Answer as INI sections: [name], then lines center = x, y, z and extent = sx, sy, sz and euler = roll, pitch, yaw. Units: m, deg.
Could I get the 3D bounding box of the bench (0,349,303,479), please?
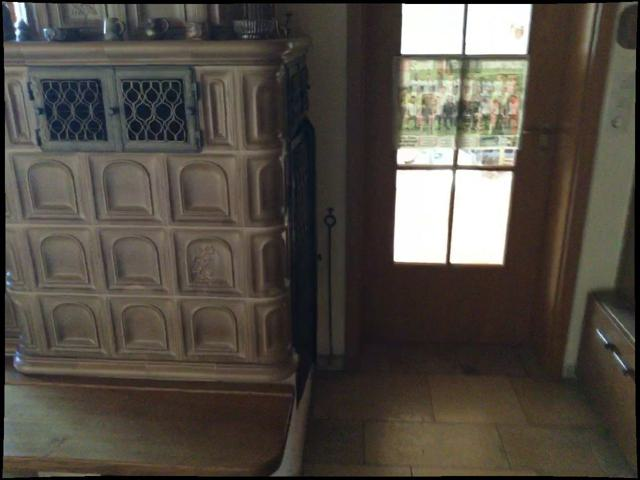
[bench]
center = -0.679, 0.661, 1.740
extent = 1.229, 0.450, 0.490
euler = 1, 20, 1

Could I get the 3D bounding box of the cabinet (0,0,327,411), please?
[cabinet]
center = -0.499, -0.210, 1.940
extent = 0.989, 1.081, 1.000
euler = 2, 20, 3
